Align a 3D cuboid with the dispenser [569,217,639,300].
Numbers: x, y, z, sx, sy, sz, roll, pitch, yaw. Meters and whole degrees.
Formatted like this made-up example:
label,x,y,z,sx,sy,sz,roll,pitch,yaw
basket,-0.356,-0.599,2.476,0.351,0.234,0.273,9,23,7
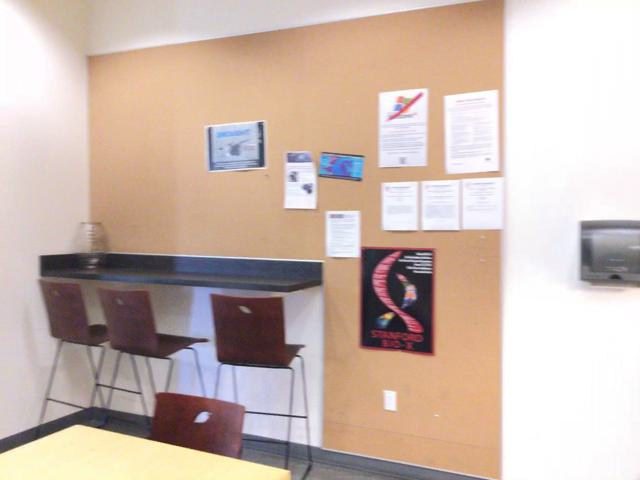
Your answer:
label,x,y,z,sx,sy,sz,roll,pitch,yaw
dispenser,1.360,0.080,2.640,0.350,0.340,0.260,5,2,32
